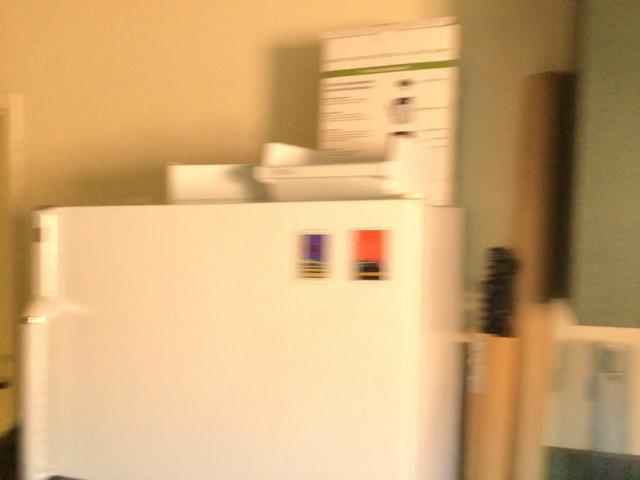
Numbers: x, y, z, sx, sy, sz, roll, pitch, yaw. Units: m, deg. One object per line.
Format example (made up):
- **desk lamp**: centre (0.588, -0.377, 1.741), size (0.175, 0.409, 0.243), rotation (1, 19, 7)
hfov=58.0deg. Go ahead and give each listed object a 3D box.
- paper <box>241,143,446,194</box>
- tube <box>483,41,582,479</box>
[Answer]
- **paper**: centre (0.060, -0.140, 1.190), size (0.290, 0.080, 0.340), rotation (4, 5, 32)
- **tube**: centre (0.510, 0.520, 1.470), size (0.160, 1.930, 0.260), rotation (3, 5, 20)
